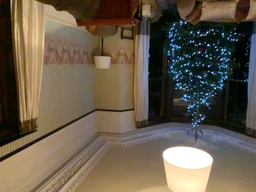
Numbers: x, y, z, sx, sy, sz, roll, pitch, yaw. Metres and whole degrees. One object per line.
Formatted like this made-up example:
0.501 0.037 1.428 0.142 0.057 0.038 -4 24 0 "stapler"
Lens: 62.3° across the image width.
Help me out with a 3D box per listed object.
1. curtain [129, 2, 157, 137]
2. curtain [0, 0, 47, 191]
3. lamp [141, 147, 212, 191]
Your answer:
0.370 -0.660 5.800 0.540 3.440 0.610 -2 -171 -14 "curtain"
-1.570 -0.240 3.140 0.440 3.360 0.310 2 -171 11 "curtain"
0.660 1.180 2.470 0.500 0.920 0.460 -38 180 14 "lamp"
